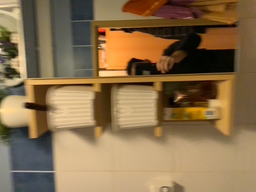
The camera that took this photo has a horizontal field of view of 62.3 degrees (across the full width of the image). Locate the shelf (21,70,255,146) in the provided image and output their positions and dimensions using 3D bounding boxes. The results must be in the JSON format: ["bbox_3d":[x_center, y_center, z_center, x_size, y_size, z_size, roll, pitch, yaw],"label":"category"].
[{"bbox_3d":[0.030,0.030,0.750,0.210,0.700,0.220,-73,-19,-81],"label":"shelf"}]
